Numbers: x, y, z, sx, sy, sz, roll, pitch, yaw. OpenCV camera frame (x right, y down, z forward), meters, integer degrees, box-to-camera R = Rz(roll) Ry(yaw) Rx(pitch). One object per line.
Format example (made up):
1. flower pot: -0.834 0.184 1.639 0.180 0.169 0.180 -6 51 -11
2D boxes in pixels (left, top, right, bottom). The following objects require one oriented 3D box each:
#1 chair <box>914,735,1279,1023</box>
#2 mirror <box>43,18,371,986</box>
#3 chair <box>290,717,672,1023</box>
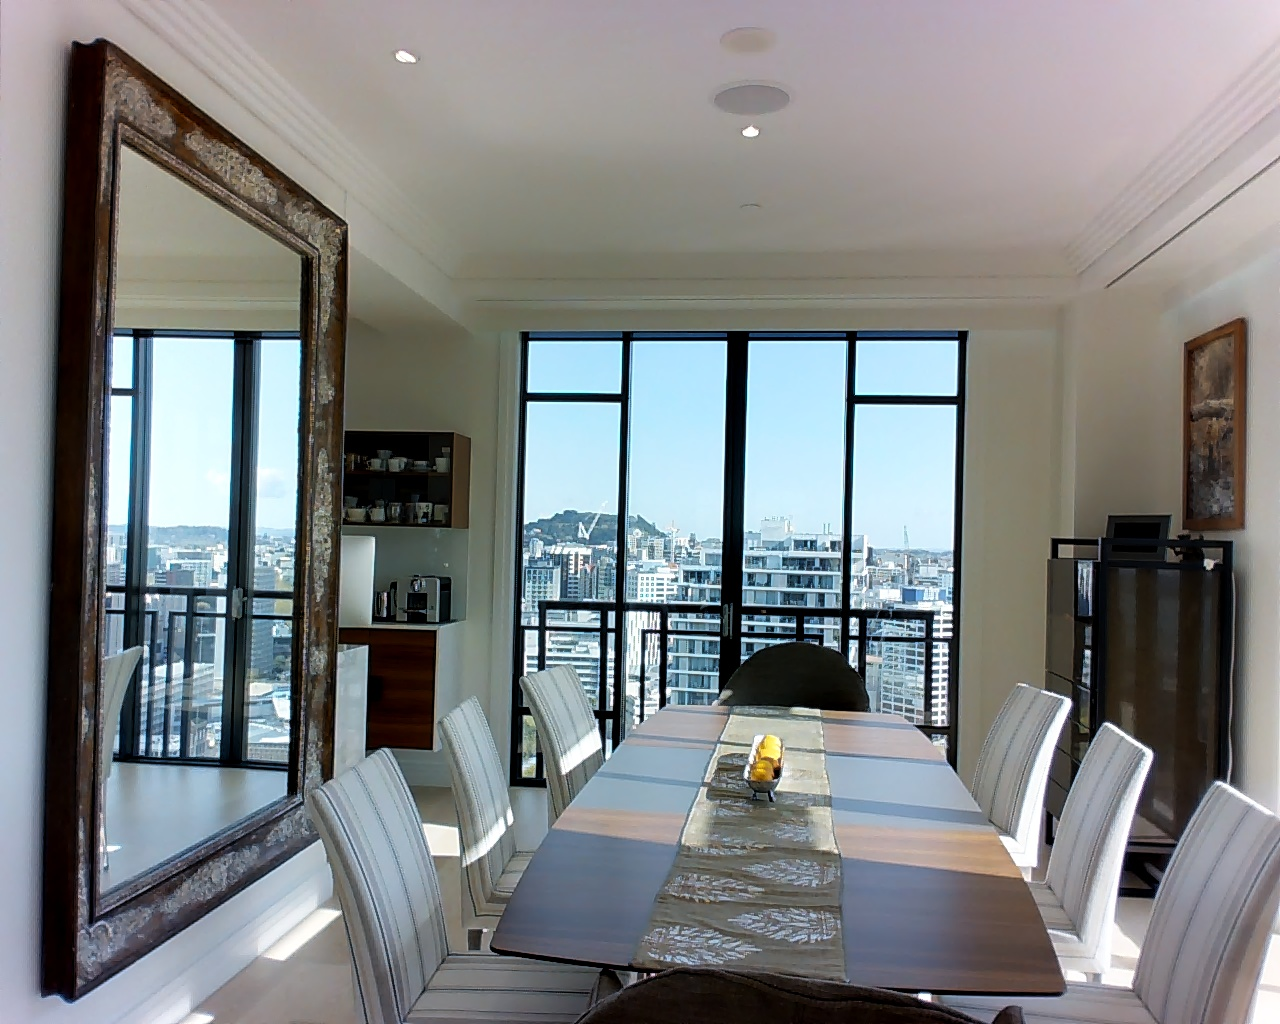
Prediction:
1. chair: 0.880 0.930 2.070 0.630 0.850 0.530 1 0 21
2. mirror: -1.180 -0.020 3.200 0.150 2.221 1.460 1 0 8
3. chair: -0.280 0.920 2.210 0.670 0.870 0.600 1 0 2
